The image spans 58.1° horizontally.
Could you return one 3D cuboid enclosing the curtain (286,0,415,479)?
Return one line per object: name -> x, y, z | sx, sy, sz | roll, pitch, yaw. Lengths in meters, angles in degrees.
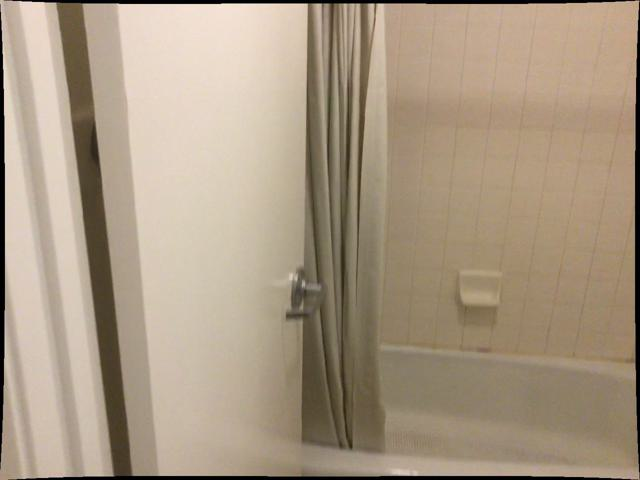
curtain -> 0.060, -0.050, 1.460 | 0.270, 1.512, 0.170 | 3, 20, 5
